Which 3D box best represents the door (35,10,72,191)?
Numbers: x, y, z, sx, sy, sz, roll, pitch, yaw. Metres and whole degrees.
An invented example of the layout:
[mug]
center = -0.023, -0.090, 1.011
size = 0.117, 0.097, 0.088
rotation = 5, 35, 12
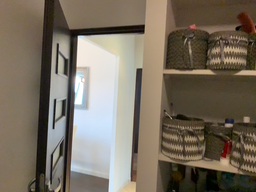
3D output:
[door]
center = -0.470, 0.540, 1.360
size = 0.110, 1.870, 0.800
rotation = 3, 1, -14
